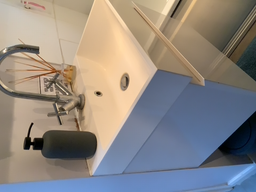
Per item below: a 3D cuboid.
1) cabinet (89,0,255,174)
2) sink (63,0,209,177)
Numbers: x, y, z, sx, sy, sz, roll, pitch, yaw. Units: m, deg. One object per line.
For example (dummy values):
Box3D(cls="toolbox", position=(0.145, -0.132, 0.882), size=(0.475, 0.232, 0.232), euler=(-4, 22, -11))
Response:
Box3D(cls="cabinet", position=(0.160, -0.050, 0.840), size=(0.400, 0.410, 0.520), euler=(-59, 38, 31))
Box3D(cls="sink", position=(-0.060, -0.090, 0.700), size=(0.420, 0.130, 0.520), euler=(-59, 38, 31))
